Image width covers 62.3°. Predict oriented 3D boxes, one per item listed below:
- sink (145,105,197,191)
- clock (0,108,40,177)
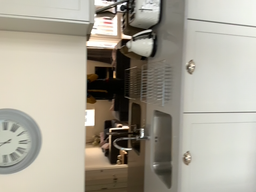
[{"bbox_3d":[0.320,0.370,1.710,0.490,0.190,0.550,-166,77,-75],"label":"sink"},{"bbox_3d":[-0.960,0.360,1.650,0.050,0.500,0.530,-164,75,-75],"label":"clock"}]
